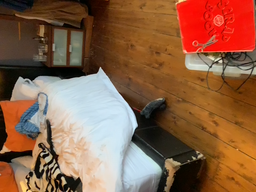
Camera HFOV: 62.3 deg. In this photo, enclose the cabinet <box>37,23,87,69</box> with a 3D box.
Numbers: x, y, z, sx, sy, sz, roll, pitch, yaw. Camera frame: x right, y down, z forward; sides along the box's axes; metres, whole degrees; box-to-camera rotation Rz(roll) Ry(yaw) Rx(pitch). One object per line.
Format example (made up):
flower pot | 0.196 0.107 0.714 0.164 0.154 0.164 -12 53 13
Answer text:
cabinet | -0.830 -0.620 2.630 0.430 0.460 0.470 29 117 48
